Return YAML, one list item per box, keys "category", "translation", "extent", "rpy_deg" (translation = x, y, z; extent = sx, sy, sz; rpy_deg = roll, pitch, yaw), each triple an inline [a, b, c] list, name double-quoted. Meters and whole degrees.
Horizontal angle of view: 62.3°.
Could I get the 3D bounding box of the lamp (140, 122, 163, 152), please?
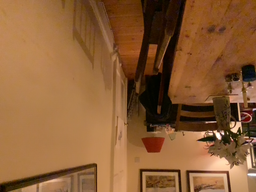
- category: "lamp"
  translation: [0.400, 0.700, 3.640]
  extent: [0.360, 0.480, 0.340]
  rpy_deg: [-1, 167, 5]
